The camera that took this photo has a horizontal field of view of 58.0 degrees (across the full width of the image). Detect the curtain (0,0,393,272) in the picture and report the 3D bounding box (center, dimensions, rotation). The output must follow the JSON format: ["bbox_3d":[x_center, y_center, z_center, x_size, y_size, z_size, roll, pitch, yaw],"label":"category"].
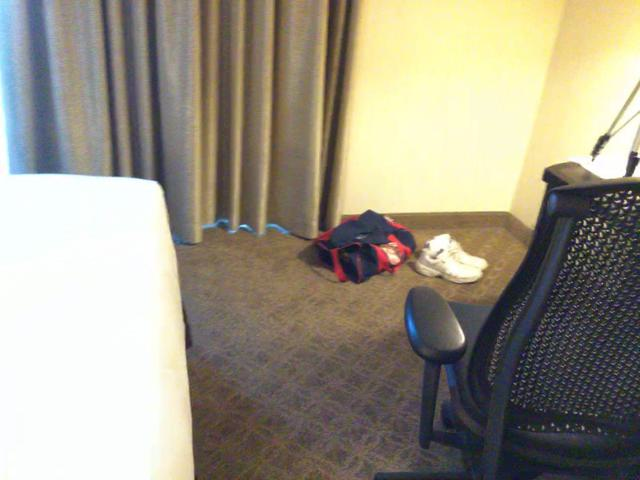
[{"bbox_3d":[-1.200,-0.720,2.220,2.880,1.630,0.500,0,23,-14],"label":"curtain"}]

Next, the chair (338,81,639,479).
[{"bbox_3d":[0.490,0.260,1.330,0.670,1.070,0.760,2,23,-10],"label":"chair"}]
